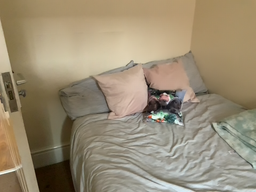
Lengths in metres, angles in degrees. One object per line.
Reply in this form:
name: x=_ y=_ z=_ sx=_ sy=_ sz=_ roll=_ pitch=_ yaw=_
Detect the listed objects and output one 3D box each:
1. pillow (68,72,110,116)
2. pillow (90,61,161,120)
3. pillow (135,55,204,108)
pillow: x=-0.300 y=-0.030 z=1.610 sx=0.240 sy=0.200 sz=0.330 roll=-9 pitch=26 yaw=-20
pillow: x=-0.040 y=-0.070 z=1.660 sx=0.410 sy=0.270 sz=0.440 roll=-9 pitch=26 yaw=-21
pillow: x=0.330 y=-0.150 z=1.830 sx=0.380 sy=0.280 sz=0.440 roll=-9 pitch=26 yaw=-21
